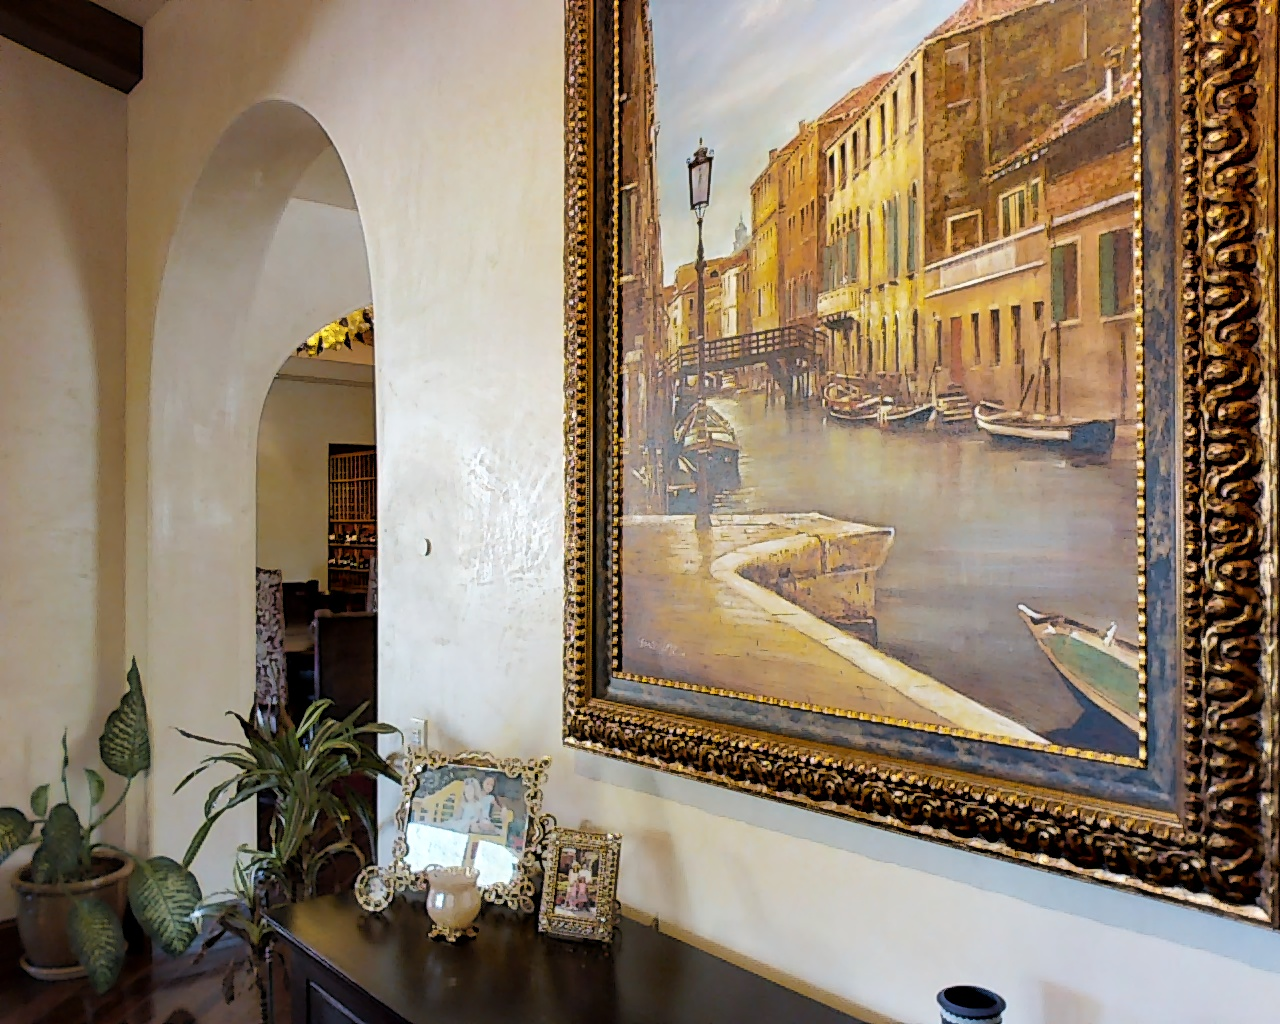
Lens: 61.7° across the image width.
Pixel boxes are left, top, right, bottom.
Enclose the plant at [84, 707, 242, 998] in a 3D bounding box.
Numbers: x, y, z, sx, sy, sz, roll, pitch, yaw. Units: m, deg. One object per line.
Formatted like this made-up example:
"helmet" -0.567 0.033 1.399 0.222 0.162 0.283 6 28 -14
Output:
"plant" -1.720 1.180 3.850 0.380 0.840 0.540 0 -1 -40
